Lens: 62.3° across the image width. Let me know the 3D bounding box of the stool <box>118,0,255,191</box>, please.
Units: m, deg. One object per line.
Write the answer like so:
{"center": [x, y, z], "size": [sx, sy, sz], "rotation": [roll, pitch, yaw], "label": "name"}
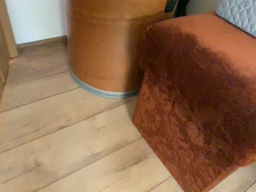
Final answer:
{"center": [0.280, 0.010, 0.640], "size": [0.440, 0.400, 0.390], "rotation": [-20, 54, -28], "label": "stool"}
